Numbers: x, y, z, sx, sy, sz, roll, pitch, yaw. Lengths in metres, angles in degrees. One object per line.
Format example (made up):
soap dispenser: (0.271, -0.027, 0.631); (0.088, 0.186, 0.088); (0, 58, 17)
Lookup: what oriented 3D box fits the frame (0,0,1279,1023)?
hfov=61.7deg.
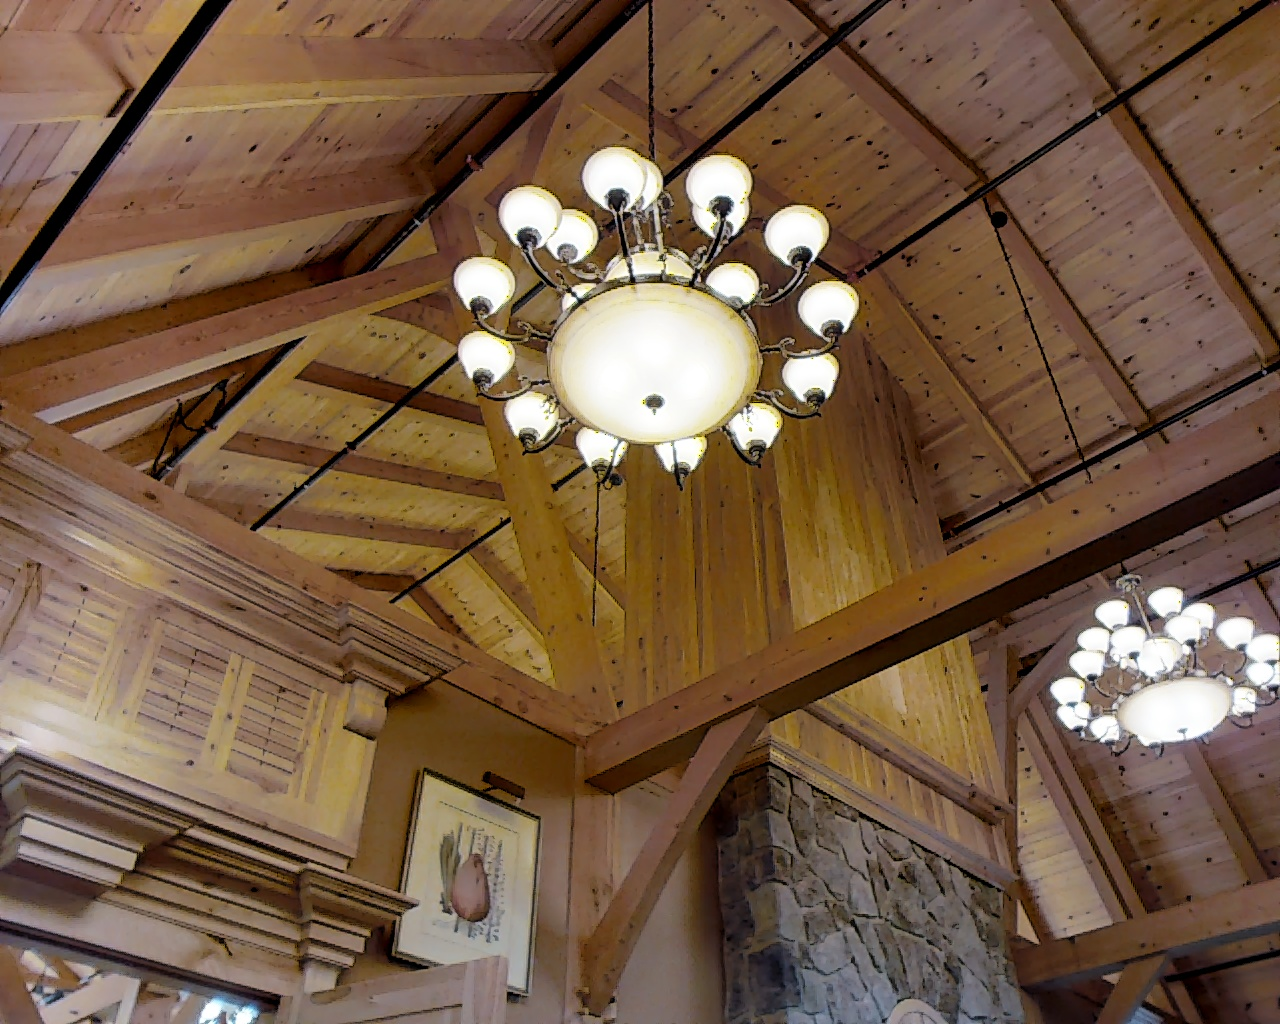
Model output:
frame: (1.679, 1.471, 3.480); (4.599, 5.542, 8.389); (-32, -51, 31)

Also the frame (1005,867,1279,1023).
frame: (4.428, 2.671, 6.290); (4.549, 1.300, 0.340); (-32, -51, 31)
